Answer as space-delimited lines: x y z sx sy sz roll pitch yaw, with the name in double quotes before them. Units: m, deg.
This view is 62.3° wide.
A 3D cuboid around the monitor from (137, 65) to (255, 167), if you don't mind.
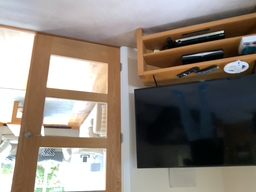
"monitor" 0.680 0.170 1.780 1.210 0.780 0.080 -7 160 16
